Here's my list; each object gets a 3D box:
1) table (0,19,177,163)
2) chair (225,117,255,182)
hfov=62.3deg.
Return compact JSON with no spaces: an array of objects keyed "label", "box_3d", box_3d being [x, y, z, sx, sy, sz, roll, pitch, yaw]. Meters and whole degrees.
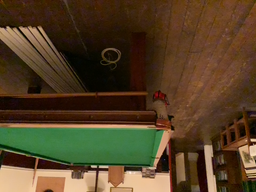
[{"label":"table","box_3d":[-0.590,0.360,2.970,2.020,0.840,3.050,0,158,4]},{"label":"chair","box_3d":[2.180,0.990,3.930,0.430,1.110,0.500,-1,158,7]}]
